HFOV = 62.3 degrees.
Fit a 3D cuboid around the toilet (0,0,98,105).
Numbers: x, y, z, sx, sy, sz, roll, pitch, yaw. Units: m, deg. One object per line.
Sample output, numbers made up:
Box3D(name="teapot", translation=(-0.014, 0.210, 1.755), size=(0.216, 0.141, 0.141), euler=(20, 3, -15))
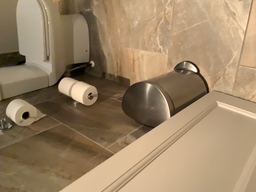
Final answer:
Box3D(name="toilet", translation=(-0.640, -0.380, 1.480), size=(0.400, 0.790, 0.600), euler=(20, 117, 35))
